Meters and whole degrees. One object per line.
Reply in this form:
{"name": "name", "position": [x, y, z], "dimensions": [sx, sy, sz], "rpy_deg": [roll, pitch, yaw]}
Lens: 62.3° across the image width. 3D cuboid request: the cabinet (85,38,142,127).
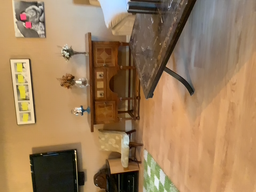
{"name": "cabinet", "position": [-0.250, -0.240, 3.370], "dimensions": [0.500, 0.780, 1.280], "rpy_deg": [-142, 51, -69]}
